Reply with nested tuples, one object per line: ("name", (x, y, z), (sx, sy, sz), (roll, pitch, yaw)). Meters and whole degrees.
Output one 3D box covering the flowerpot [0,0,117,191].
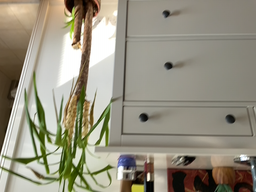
("flowerpot", (-0.290, -0.250, 1.190), (0.380, 1.420, 0.350), (0, 157, 3))
